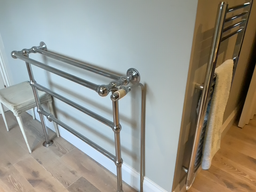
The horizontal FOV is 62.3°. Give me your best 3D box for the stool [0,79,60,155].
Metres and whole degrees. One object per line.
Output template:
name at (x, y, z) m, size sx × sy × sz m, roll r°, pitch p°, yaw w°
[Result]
stool at (-0.950, 0.170, 1.970) m, size 0.500 × 0.450 × 0.330 m, roll 22°, pitch 36°, yaw 34°
